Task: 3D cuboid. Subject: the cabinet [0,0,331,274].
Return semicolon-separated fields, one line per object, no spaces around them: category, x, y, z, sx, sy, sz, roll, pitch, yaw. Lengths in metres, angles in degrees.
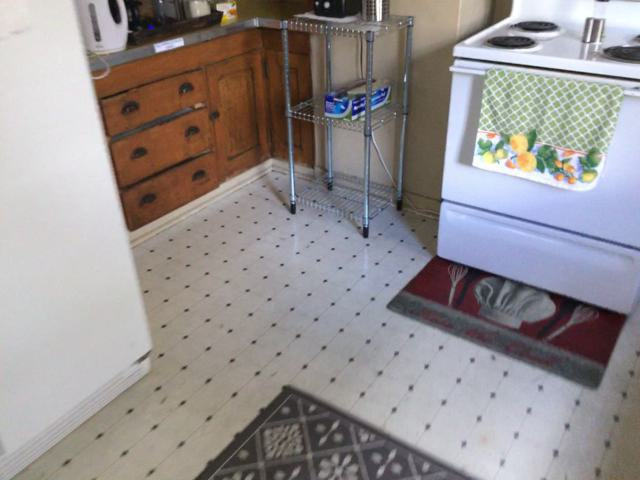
cabinet;-0.670;-0.650;2.890;0.710;0.900;1.480;19;35;32

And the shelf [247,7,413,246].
shelf;0.050;-0.540;2.690;0.590;0.940;0.390;19;35;32

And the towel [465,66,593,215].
towel;0.690;-0.340;1.960;0.340;0.440;0.080;19;35;32
